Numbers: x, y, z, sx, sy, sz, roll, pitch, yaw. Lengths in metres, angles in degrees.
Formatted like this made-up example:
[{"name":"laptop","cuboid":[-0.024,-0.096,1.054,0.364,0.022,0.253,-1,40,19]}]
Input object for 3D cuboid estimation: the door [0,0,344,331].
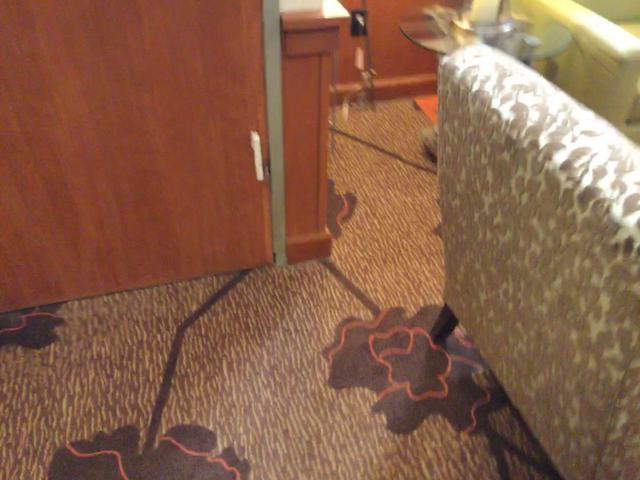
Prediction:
[{"name":"door","cuboid":[-0.500,-0.250,1.600,1.130,1.050,0.140,-10,41,-10]}]
